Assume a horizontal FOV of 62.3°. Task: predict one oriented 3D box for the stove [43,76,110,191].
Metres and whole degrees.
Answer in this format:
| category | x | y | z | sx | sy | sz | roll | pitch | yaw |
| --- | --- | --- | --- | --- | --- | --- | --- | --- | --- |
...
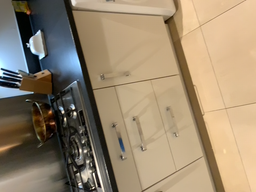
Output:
| category | x | y | z | sx | sy | sz | roll | pitch | yaw |
| --- | --- | --- | --- | --- | --- | --- | --- | --- | --- |
| stove | -0.340 | 0.330 | 1.310 | 0.620 | 0.030 | 0.760 | -21 | 83 | 53 |
